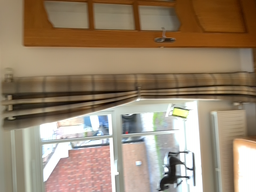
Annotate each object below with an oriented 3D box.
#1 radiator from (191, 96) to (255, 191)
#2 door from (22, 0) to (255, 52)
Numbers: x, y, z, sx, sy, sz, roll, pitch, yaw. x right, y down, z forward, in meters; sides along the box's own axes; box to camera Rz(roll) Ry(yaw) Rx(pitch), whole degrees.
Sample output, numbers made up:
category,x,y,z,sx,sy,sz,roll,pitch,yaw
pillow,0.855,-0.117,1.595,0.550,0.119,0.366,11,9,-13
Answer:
category,x,y,z,sx,sy,sz,roll,pitch,yaw
radiator,0.920,0.550,1.920,0.140,0.580,1.060,153,113,-76
door,0.230,-0.770,1.750,0.170,1.990,0.800,131,134,-71
